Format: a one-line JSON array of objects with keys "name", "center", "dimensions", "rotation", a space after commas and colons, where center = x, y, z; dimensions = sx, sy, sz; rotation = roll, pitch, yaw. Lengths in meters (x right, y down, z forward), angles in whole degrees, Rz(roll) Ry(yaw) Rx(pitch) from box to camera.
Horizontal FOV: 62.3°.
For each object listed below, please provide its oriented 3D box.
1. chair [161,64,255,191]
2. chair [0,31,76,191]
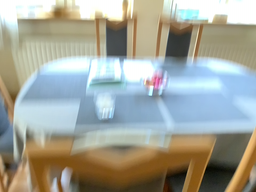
[{"name": "chair", "center": [0.440, 0.430, 0.940], "dimensions": [0.410, 1.030, 0.460], "rotation": [-2, 29, -8]}, {"name": "chair", "center": [-0.640, 0.180, 1.300], "dimensions": [0.460, 1.030, 0.410], "rotation": [4, 29, 2]}]
